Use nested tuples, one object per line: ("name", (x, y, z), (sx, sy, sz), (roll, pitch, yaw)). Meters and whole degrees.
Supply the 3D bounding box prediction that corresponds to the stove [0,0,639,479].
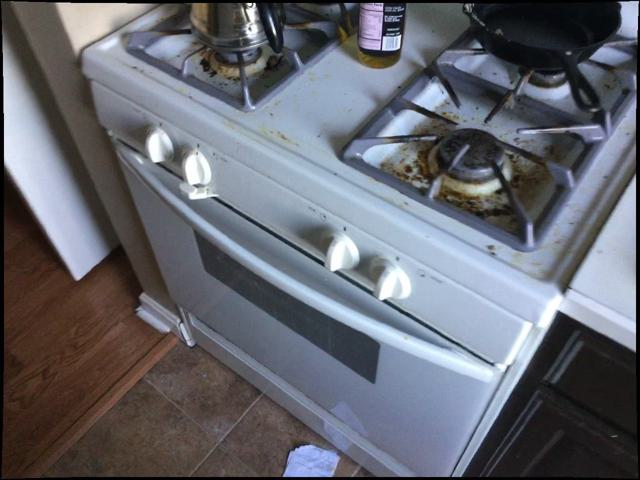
("stove", (0.070, -0.120, 1.120), (0.969, 1.151, 0.750), (29, 57, 20))
